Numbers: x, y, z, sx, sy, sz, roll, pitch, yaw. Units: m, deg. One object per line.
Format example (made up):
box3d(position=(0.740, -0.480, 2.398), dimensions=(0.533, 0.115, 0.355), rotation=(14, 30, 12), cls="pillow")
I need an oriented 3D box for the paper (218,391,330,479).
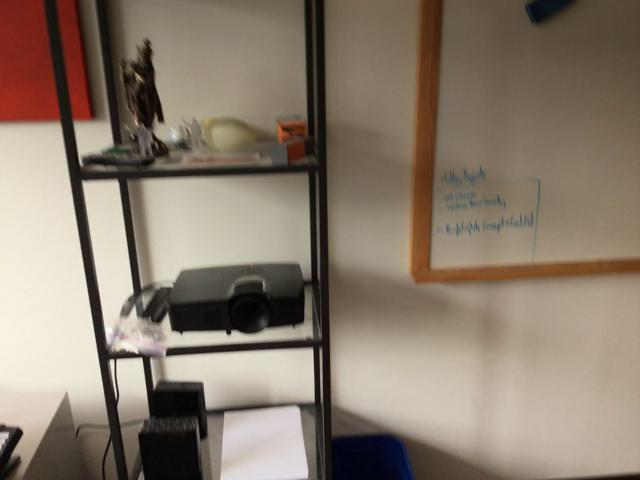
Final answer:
box3d(position=(-0.130, 0.560, 1.570), dimensions=(0.270, 0.080, 0.360), rotation=(-6, 19, -5), cls="paper")
